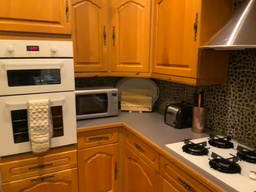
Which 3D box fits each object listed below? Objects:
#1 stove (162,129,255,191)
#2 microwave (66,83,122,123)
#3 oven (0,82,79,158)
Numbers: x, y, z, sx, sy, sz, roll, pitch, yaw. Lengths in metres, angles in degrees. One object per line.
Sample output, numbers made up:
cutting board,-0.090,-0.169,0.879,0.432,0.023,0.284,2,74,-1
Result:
stove,0.630,0.360,1.350,0.550,0.030,0.630,-5,12,-25
microwave,-0.370,0.050,2.270,0.480,0.310,0.420,-5,12,-26
oven,-0.830,0.160,1.930,0.630,0.480,0.560,-5,12,-25
